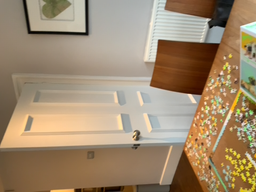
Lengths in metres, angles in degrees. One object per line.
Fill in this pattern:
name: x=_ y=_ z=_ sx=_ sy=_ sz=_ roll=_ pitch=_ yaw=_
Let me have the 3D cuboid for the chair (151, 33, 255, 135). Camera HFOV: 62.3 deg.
chair: x=0.700 y=-0.080 z=1.360 sx=0.450 sy=0.960 sz=0.430 roll=-105 pitch=19 yaw=-52

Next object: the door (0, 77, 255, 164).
door: x=0.030 y=0.170 z=2.130 sx=0.940 sy=2.280 sz=0.140 roll=-103 pitch=18 yaw=-49
